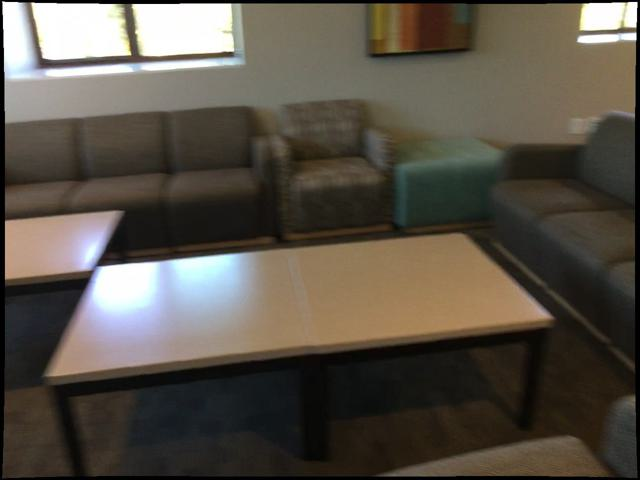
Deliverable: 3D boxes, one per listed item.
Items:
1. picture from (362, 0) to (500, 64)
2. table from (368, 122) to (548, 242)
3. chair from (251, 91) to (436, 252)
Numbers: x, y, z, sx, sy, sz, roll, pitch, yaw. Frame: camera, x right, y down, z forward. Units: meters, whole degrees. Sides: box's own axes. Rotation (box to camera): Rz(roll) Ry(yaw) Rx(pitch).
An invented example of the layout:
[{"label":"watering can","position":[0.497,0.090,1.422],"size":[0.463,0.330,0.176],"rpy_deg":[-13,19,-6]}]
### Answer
[{"label":"picture","position":[0.738,-1.464,3.830],"size":[0.898,0.471,0.120],"rpy_deg":[-7,24,-6]},{"label":"table","position":[0.878,-0.431,3.920],"size":[0.918,0.481,0.870],"rpy_deg":[-7,24,-6]},{"label":"chair","position":[0.130,-0.481,3.780],"size":[1.047,0.762,0.750],"rpy_deg":[-7,24,-6]}]
